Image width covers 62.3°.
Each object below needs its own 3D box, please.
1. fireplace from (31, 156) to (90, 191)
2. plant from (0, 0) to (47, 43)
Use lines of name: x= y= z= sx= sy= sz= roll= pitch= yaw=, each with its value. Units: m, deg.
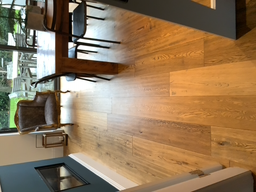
fireplace: x=-0.880 y=1.090 z=2.660 sx=0.940 sy=0.440 sz=0.400 roll=0 pitch=89 yaw=55
plant: x=-1.460 y=-0.950 z=2.340 sx=0.350 sy=0.990 sz=0.500 roll=3 pitch=91 yaw=55
